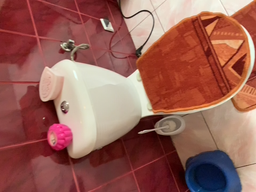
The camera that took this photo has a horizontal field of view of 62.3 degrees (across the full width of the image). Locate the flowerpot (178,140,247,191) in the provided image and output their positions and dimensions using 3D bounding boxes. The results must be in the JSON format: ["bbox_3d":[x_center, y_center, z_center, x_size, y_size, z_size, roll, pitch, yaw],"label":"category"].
[{"bbox_3d":[0.450,0.410,1.160,0.260,0.080,0.260,-30,73,36],"label":"flowerpot"}]
